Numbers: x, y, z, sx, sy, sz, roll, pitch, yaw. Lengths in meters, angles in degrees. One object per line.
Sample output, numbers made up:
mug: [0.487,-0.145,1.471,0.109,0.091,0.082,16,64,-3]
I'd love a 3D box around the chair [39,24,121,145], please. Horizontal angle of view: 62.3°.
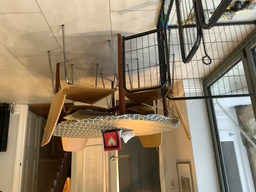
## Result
chair: [-0.410,-0.050,1.760,0.540,0.850,0.430,4,161,-25]
